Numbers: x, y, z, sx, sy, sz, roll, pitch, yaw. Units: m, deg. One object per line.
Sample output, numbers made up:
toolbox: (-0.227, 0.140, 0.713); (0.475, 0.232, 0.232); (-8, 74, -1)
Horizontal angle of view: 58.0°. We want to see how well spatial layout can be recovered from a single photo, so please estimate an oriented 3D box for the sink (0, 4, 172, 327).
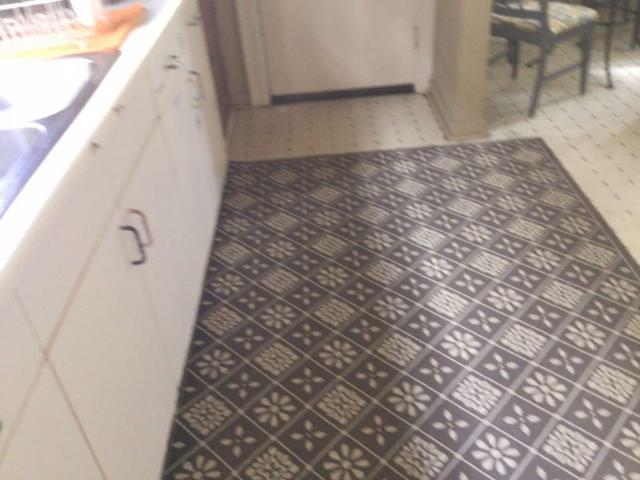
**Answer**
sink: (-0.700, -0.190, 1.170); (0.580, 0.290, 0.810); (-7, 35, 3)
